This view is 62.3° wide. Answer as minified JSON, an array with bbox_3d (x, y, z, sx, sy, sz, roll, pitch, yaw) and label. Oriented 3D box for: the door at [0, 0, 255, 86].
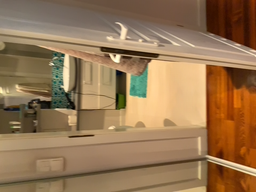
[{"bbox_3d":[-0.190,-0.380,1.150,0.980,1.900,0.150,-127,45,-53],"label":"door"}]
